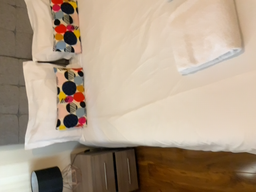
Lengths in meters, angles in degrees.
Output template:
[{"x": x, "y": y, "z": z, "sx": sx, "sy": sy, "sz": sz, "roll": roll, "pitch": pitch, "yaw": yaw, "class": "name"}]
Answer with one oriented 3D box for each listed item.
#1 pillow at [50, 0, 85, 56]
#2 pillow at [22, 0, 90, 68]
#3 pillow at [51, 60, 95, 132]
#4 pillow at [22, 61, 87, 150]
[{"x": -0.590, "y": -0.720, "z": 2.040, "sx": 0.170, "sy": 0.280, "sz": 0.620, "roll": 156, "pitch": 110, "yaw": -65, "class": "pillow"}, {"x": -0.720, "y": -0.710, "z": 2.140, "sx": 0.210, "sy": 0.600, "sz": 0.820, "roll": 151, "pitch": 115, "yaw": -70, "class": "pillow"}, {"x": -0.520, "y": 0.000, "z": 1.960, "sx": 0.220, "sy": 0.330, "sz": 0.610, "roll": 150, "pitch": 116, "yaw": -65, "class": "pillow"}, {"x": -0.680, "y": 0.080, "z": 2.000, "sx": 0.250, "sy": 0.530, "sz": 0.770, "roll": 149, "pitch": 118, "yaw": -73, "class": "pillow"}]
